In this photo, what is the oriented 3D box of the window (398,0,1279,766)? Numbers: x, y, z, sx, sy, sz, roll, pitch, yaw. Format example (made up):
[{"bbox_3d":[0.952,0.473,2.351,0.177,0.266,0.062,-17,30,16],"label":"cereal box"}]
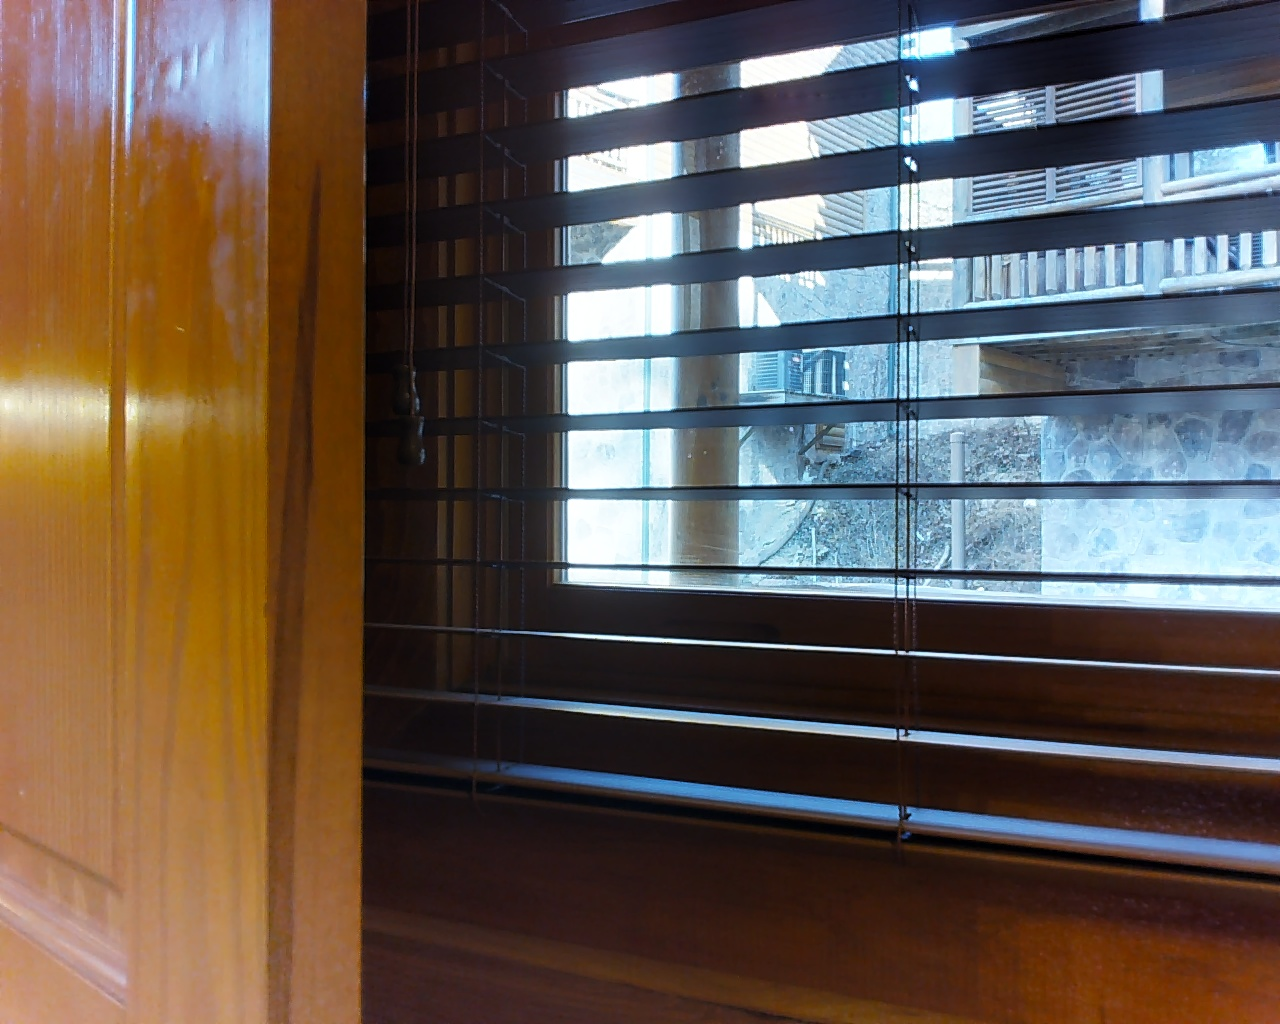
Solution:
[{"bbox_3d":[0.300,-0.100,0.610,0.980,0.450,0.130,0,0,25],"label":"window"}]
